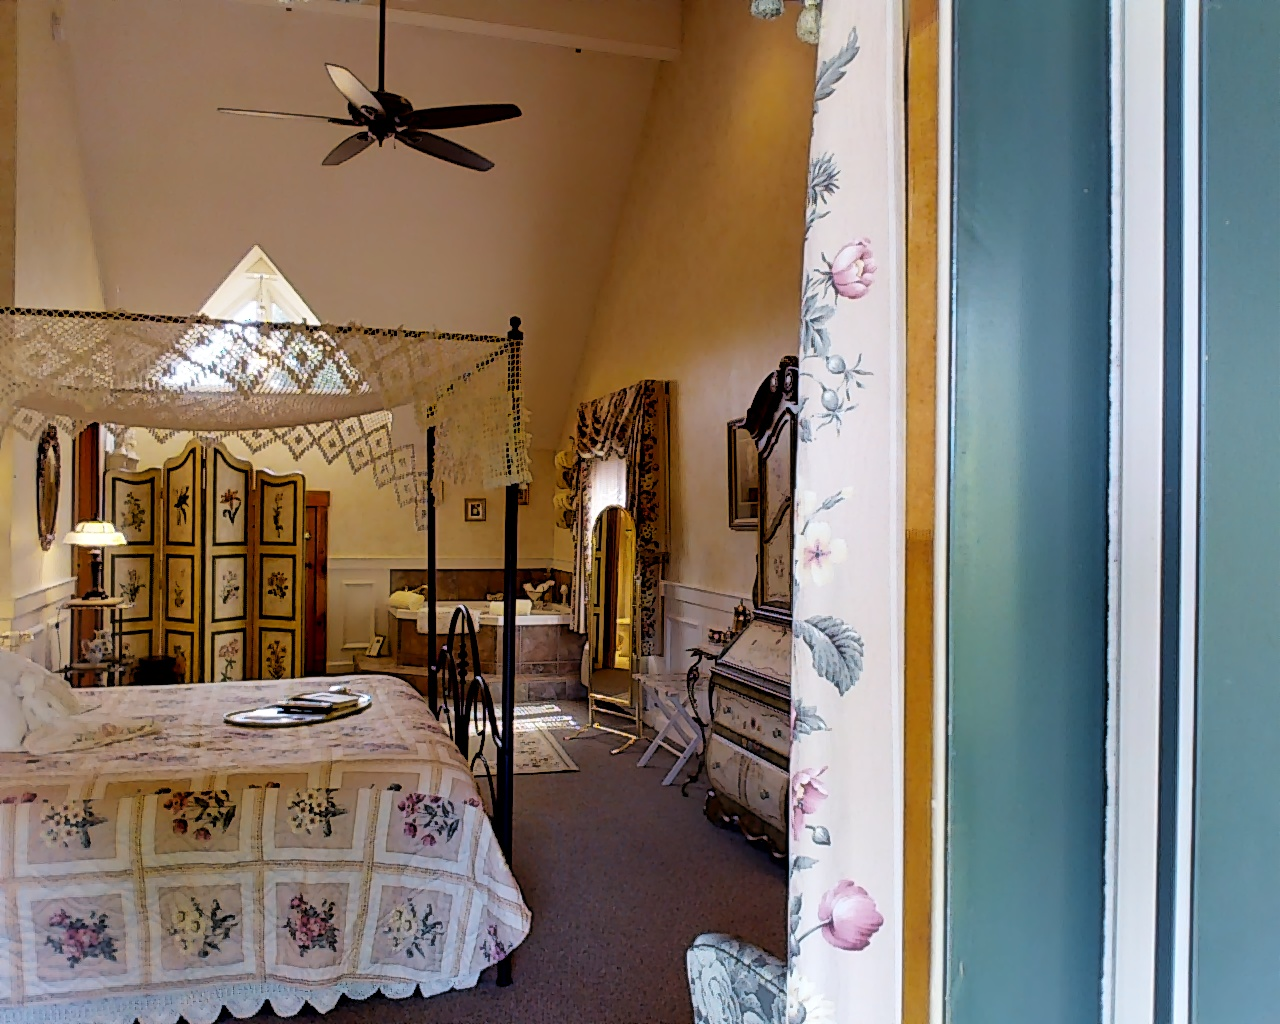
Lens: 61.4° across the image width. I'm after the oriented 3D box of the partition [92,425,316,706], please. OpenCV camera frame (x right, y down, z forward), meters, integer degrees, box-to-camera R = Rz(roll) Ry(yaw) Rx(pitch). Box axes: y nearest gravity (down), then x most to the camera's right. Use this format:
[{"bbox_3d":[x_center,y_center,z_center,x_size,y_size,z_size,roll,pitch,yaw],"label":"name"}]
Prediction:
[{"bbox_3d":[-3.239,0.390,8.100,1.480,2.000,0.470,1,1,-18],"label":"partition"}]
